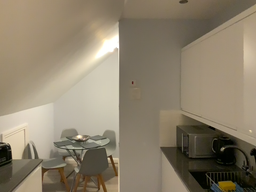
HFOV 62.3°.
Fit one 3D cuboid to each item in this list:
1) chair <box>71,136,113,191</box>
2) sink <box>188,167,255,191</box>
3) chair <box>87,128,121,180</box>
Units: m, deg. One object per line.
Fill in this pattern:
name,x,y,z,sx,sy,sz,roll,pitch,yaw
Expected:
chair,-0.520,1.050,3.010,0.460,0.810,0.520,-1,3,-24
sink,0.740,0.760,1.690,0.400,0.230,0.390,0,3,-4
chair,-0.430,1.020,3.860,0.420,0.780,0.430,2,4,38
